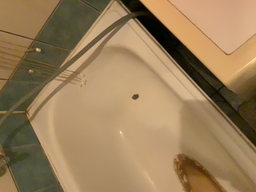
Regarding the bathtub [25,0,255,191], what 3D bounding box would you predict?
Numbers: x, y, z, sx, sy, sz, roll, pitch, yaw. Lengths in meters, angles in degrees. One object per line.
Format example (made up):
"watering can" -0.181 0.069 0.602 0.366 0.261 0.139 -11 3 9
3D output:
"bathtub" 0.280 0.410 0.900 0.690 0.560 1.480 -45 68 20
